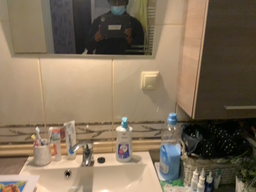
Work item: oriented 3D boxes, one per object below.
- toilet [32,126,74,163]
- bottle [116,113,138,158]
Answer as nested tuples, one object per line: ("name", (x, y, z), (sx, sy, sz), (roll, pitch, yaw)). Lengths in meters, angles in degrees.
("toilet", (-0.350, 0.230, 1.010), (0.170, 0.150, 0.070), (-1, 18, -8))
("bottle", (-0.010, 0.190, 1.040), (0.090, 0.180, 0.120), (-1, 18, -8))
